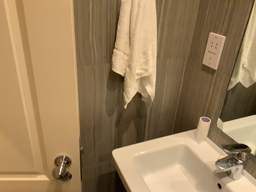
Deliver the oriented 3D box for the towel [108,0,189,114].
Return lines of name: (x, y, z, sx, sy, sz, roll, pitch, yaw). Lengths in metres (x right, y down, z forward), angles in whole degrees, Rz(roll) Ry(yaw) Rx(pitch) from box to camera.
towel: (0.070, -0.190, 0.900, 0.270, 0.510, 0.120, -7, 30, -21)
